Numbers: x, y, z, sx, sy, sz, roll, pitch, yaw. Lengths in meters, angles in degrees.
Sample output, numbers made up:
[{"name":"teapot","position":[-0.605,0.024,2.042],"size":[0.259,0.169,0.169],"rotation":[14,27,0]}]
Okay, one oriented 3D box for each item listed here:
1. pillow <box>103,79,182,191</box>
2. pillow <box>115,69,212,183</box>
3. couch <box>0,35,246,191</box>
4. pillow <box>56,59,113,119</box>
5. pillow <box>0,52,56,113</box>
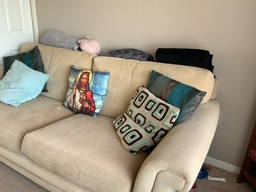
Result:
[{"name":"pillow","position":[0.040,0.340,1.480],"size":[0.340,0.790,0.490],"rotation":[-4,23,-17]},{"name":"pillow","position":[0.200,0.160,1.450],"size":[0.250,0.620,0.490],"rotation":[18,1,-24]},{"name":"couch","position":[-0.520,0.100,1.800],"size":[2.460,0.900,1.100],"rotation":[15,24,27]},{"name":"pillow","position":[-0.380,-0.070,1.790],"size":[0.440,0.390,0.140],"rotation":[19,12,30]},{"name":"pillow","position":[-1.020,-0.140,2.060],"size":[0.480,0.440,0.180],"rotation":[21,-7,26]}]
